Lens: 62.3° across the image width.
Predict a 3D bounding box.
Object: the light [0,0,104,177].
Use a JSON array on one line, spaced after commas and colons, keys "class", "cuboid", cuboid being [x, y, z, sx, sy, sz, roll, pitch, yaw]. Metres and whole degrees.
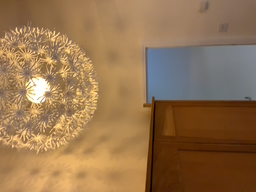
[{"class": "light", "cuboid": [-1.260, -0.140, 1.760, 2.030, 0.840, 0.930, 6, -169, 39]}]
